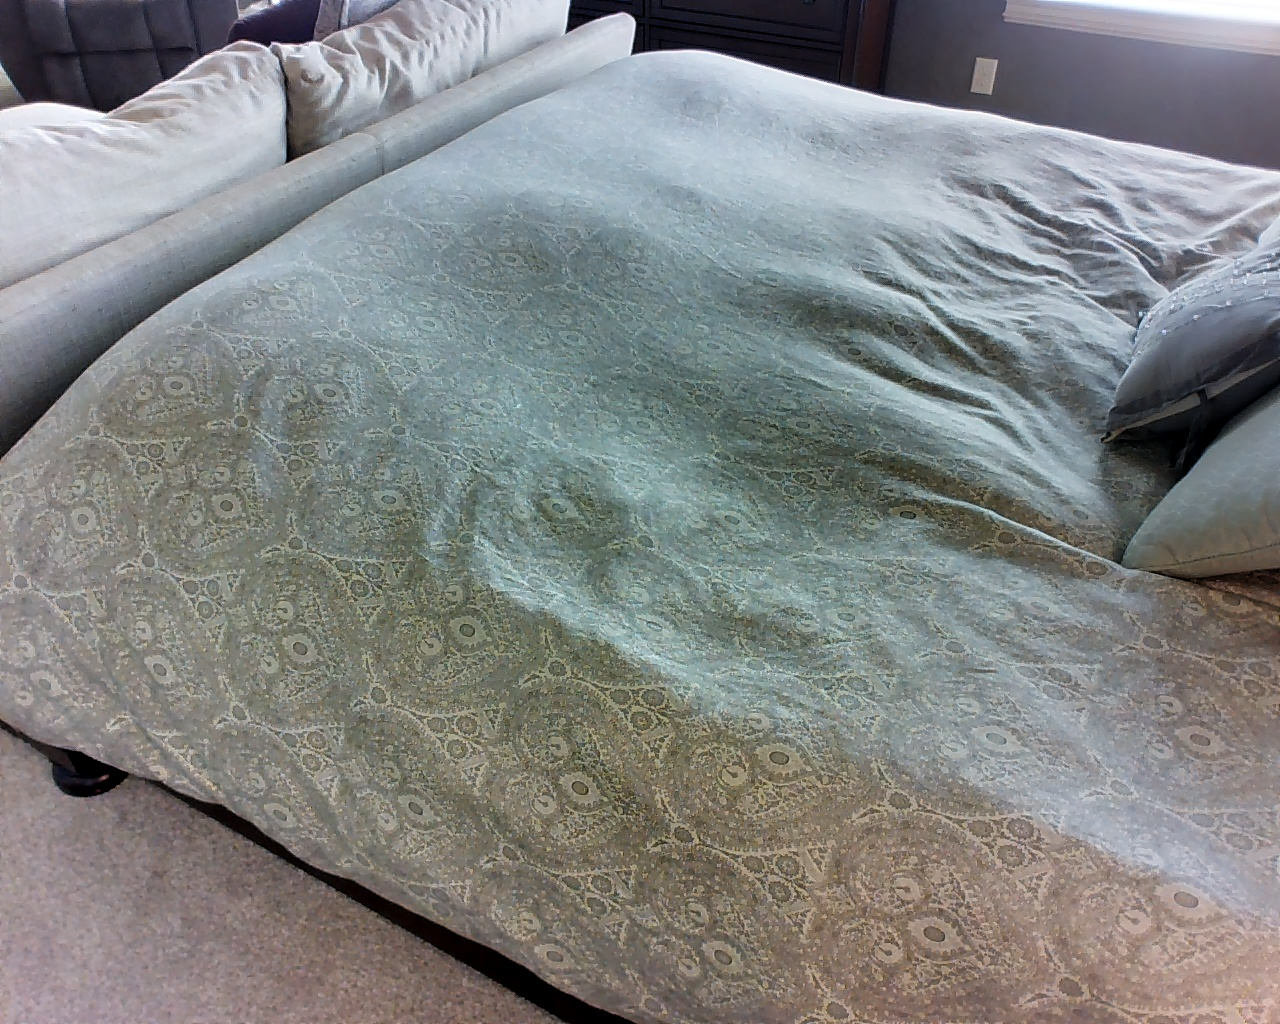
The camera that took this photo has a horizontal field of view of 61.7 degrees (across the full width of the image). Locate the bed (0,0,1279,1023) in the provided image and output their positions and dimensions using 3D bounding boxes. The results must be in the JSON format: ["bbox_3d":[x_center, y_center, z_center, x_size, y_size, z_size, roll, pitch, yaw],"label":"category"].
[{"bbox_3d":[0.590,-0.090,1.820,2.420,0.780,2.380,19,42,21],"label":"bed"}]

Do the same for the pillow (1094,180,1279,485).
[{"bbox_3d":[0.790,-0.250,1.410,0.250,0.190,0.420,19,42,21],"label":"pillow"}]
